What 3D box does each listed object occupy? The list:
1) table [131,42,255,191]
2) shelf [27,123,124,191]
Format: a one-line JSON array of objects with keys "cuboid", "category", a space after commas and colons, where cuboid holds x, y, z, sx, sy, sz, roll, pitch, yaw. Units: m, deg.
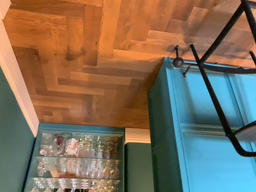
[{"cuboid": [1.150, 0.350, 1.550, 2.150, 1.100, 0.610, 5, 147, -10], "category": "table"}, {"cuboid": [-0.540, 1.410, 2.080, 0.940, 2.240, 0.460, 5, 147, -10], "category": "shelf"}]
